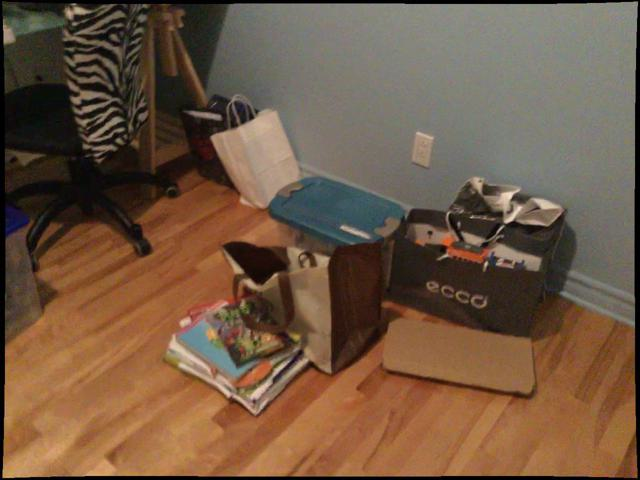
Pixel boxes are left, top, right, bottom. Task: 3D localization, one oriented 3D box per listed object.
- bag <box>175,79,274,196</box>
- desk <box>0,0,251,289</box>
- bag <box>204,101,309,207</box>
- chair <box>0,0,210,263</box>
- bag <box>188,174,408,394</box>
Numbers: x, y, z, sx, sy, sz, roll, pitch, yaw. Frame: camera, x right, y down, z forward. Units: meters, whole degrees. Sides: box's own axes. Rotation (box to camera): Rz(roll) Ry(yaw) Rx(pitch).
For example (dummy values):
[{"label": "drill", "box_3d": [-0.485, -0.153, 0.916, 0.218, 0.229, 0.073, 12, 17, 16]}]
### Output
[{"label": "bag", "box_3d": [-0.380, -0.420, 2.350, 0.270, 0.340, 0.250, 26, 44, 30]}, {"label": "desk", "box_3d": [-1.109, -0.501, 2.070, 0.860, 0.781, 1.500, 26, 44, 30]}, {"label": "bag", "box_3d": [-0.250, -0.340, 2.300, 0.180, 0.310, 0.250, -13, 18, 49]}, {"label": "chair", "box_3d": [-0.819, -0.460, 1.960, 0.659, 0.881, 0.440, 11, 38, 14]}, {"label": "bag", "box_3d": [-0.060, 0.100, 1.650, 0.460, 0.330, 0.370, 26, 44, 30]}]
